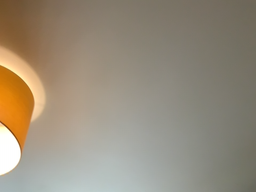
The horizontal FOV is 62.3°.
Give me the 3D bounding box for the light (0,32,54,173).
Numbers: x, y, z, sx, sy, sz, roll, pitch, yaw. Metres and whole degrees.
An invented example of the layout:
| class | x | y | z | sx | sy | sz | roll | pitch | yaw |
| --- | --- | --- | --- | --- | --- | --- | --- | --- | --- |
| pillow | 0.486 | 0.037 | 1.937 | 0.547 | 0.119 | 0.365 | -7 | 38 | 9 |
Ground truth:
| class | x | y | z | sx | sy | sz | roll | pitch | yaw |
| --- | --- | --- | --- | --- | --- | --- | --- | --- | --- |
| light | -0.580 | 0.060 | 0.810 | 0.300 | 0.430 | 0.470 | 31 | -140 | 21 |
